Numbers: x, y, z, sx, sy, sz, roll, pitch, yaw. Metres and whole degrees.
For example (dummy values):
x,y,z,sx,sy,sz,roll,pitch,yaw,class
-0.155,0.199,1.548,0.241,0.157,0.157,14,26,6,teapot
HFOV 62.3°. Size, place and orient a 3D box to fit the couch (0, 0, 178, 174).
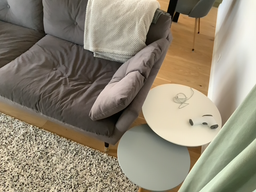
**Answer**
x,y,z,sx,sy,sz,roll,pitch,yaw,class
-0.820,-0.390,1.700,2.110,0.800,1.020,19,46,8,couch
